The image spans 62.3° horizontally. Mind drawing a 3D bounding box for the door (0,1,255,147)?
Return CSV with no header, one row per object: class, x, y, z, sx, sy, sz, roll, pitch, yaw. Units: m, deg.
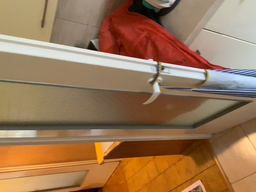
door,0.060,0.080,1.100,0.940,2.140,0.080,-43,49,51
